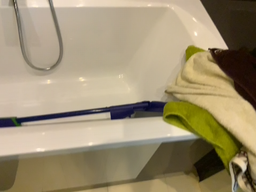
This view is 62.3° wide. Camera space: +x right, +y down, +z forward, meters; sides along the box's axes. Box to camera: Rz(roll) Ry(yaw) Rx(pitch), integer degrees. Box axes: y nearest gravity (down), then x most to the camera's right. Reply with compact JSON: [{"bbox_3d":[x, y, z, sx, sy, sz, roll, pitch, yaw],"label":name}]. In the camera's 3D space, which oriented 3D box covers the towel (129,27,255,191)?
[{"bbox_3d":[0.270,0.140,0.840,0.350,0.600,0.500,-3,58,-14],"label":"towel"}]
